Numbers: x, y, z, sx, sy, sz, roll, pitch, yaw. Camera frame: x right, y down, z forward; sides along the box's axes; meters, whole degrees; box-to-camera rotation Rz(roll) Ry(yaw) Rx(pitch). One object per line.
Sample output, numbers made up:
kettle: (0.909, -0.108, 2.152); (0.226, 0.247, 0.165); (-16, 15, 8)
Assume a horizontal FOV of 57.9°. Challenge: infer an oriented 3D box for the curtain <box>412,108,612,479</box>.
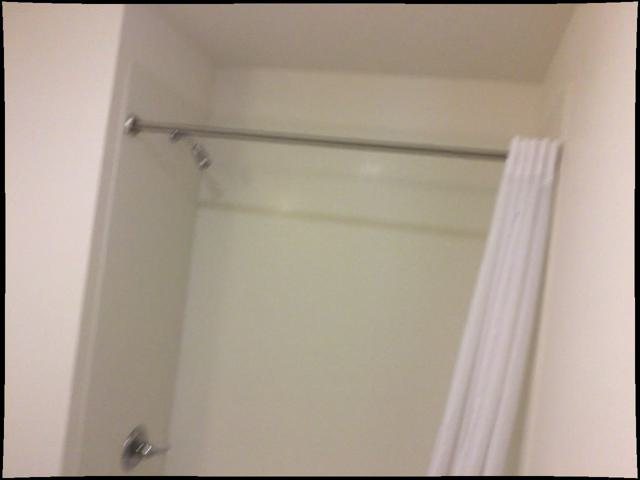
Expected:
curtain: (0.539, 0.450, 1.790); (0.410, 1.642, 0.190); (8, 2, 10)
